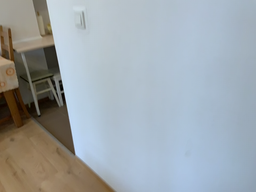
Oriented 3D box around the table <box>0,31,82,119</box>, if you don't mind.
[{"bbox_3d":[-1.120,-0.320,2.750,0.700,0.840,0.620,-26,36,-37],"label":"table"}]
